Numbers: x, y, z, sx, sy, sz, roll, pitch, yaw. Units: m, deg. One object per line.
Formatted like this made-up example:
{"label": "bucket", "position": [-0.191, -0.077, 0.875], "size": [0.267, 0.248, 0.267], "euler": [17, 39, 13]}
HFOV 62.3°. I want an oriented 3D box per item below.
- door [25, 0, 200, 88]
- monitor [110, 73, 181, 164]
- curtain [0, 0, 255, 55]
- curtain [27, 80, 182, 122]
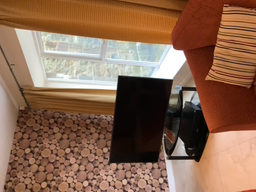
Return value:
{"label": "door", "position": [-0.340, -0.880, 3.360], "size": [2.660, 2.150, 0.090], "euler": [115, 155, -59]}
{"label": "monitor", "position": [0.210, 0.350, 2.860], "size": [0.070, 0.800, 1.280], "euler": [-119, 34, -67]}
{"label": "curtain", "position": [0.040, -0.820, 1.910], "size": [0.870, 2.450, 0.170], "euler": [115, 155, -59]}
{"label": "curtain", "position": [-0.380, 0.140, 3.740], "size": [0.920, 2.410, 0.250], "euler": [115, 155, -59]}
